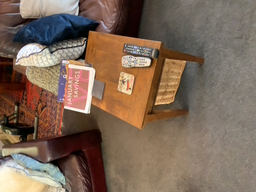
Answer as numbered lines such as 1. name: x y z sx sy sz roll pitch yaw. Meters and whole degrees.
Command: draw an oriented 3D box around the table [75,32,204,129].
1. table: 0.070 -0.130 1.400 0.570 0.550 0.440 19 105 40
